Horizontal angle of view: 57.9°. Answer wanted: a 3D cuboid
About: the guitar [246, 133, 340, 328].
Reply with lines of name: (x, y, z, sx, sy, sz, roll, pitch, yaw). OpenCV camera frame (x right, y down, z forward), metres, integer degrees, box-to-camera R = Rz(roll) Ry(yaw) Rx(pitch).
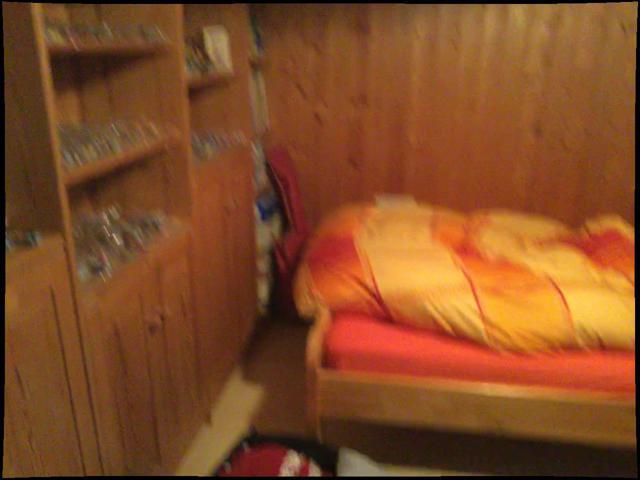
guitar: (-0.120, -0.060, 3.110, 0.390, 0.941, 0.430, 3, 22, 10)

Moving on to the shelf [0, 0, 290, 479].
shelf: (-0.609, -0.450, 2.240, 0.490, 1.902, 2.030, 3, 22, 10)

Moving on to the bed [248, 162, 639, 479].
bed: (1.019, 0.280, 2.400, 2.238, 0.781, 1.500, 3, 22, 10)
